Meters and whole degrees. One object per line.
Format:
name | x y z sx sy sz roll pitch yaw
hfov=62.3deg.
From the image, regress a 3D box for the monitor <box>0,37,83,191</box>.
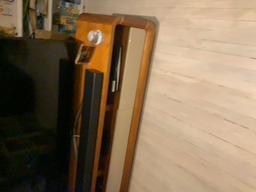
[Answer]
monitor | -0.780 0.350 1.520 0.060 0.860 1.480 27 115 44
